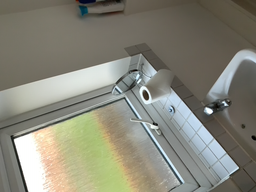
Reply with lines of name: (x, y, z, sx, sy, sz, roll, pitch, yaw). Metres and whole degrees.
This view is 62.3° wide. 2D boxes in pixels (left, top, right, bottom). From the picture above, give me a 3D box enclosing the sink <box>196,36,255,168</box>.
sink: (0.510, 0.060, 0.700, 0.460, 0.220, 0.290, 55, 152, 30)
